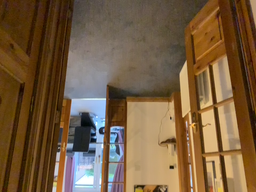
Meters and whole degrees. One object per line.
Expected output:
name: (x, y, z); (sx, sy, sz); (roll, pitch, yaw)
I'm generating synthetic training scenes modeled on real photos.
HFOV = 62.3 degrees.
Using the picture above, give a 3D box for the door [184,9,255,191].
door: (0.640, 0.350, 1.550); (0.070, 1.930, 0.550); (4, 161, -12)
